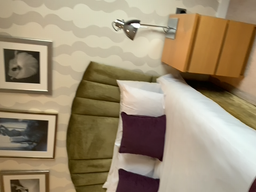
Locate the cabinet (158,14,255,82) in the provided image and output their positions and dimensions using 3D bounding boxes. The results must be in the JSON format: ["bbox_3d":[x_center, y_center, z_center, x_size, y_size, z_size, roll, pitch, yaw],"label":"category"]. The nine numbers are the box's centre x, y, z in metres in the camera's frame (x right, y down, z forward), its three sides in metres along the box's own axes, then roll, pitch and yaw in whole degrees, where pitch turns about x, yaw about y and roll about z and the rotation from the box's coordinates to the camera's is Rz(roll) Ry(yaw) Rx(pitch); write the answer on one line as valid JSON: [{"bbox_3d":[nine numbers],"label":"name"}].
[{"bbox_3d":[0.630,-0.420,1.790,0.520,0.550,0.420,-117,34,-66],"label":"cabinet"}]

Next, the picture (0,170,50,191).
[{"bbox_3d":[-1.080,0.970,2.220,0.040,0.480,0.440,-118,35,-66],"label":"picture"}]
